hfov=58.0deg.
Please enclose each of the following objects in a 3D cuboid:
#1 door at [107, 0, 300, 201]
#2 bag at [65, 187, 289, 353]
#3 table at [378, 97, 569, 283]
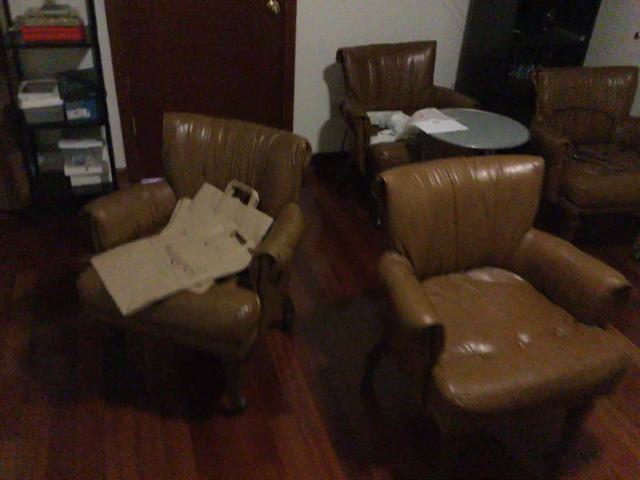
[{"bbox_3d":[-0.530,-1.220,2.640,0.870,2.160,0.150,-8,33,-15],"label":"door"},{"bbox_3d":[-0.420,0.060,1.770,0.380,0.170,0.530,29,41,36],"label":"bag"},{"bbox_3d":[0.650,-0.250,2.610,0.540,0.580,0.540,-13,35,-21],"label":"table"}]
